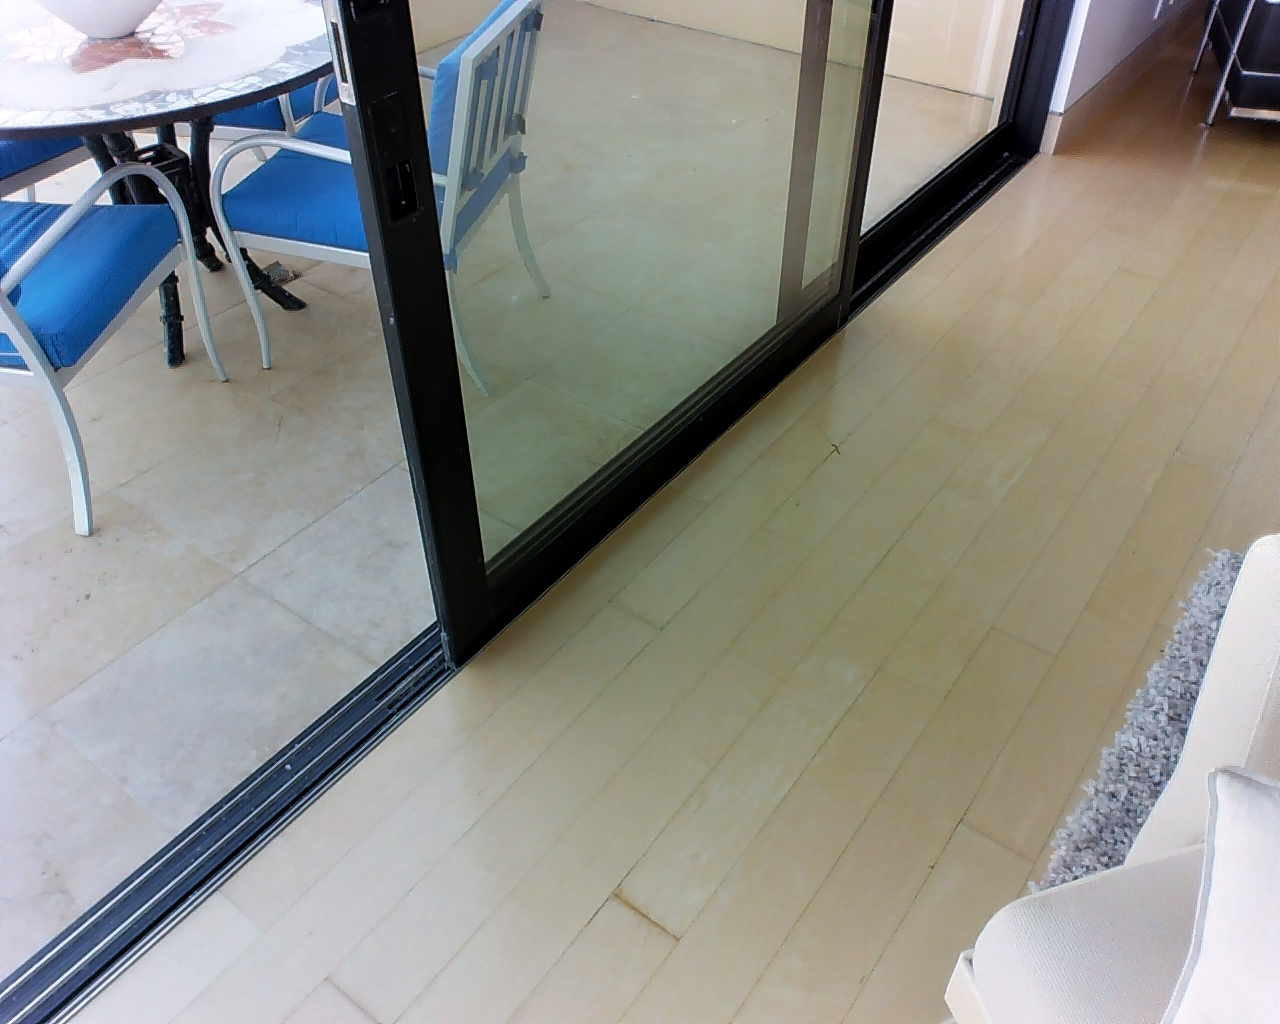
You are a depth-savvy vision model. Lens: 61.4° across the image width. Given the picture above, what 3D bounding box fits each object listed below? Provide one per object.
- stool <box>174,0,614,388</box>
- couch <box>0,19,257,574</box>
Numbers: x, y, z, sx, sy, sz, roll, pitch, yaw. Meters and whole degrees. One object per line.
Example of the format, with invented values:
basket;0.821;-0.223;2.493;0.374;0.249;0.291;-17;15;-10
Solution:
stool;-0.540;-0.870;2.720;0.790;0.800;0.600;10;42;12
couch;-1.440;-0.490;2.360;0.690;0.910;0.710;10;42;11
